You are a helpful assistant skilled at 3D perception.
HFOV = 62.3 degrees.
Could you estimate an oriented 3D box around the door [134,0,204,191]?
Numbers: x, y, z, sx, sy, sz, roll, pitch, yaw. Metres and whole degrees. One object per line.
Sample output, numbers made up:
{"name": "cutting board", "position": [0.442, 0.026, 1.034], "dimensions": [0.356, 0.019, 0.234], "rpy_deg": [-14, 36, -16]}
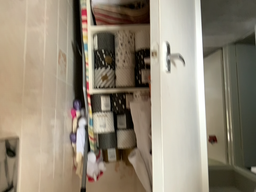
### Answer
{"name": "door", "position": [0.240, -0.220, 1.050], "dimensions": [0.130, 1.550, 0.730], "rpy_deg": [-3, 174, 26]}
